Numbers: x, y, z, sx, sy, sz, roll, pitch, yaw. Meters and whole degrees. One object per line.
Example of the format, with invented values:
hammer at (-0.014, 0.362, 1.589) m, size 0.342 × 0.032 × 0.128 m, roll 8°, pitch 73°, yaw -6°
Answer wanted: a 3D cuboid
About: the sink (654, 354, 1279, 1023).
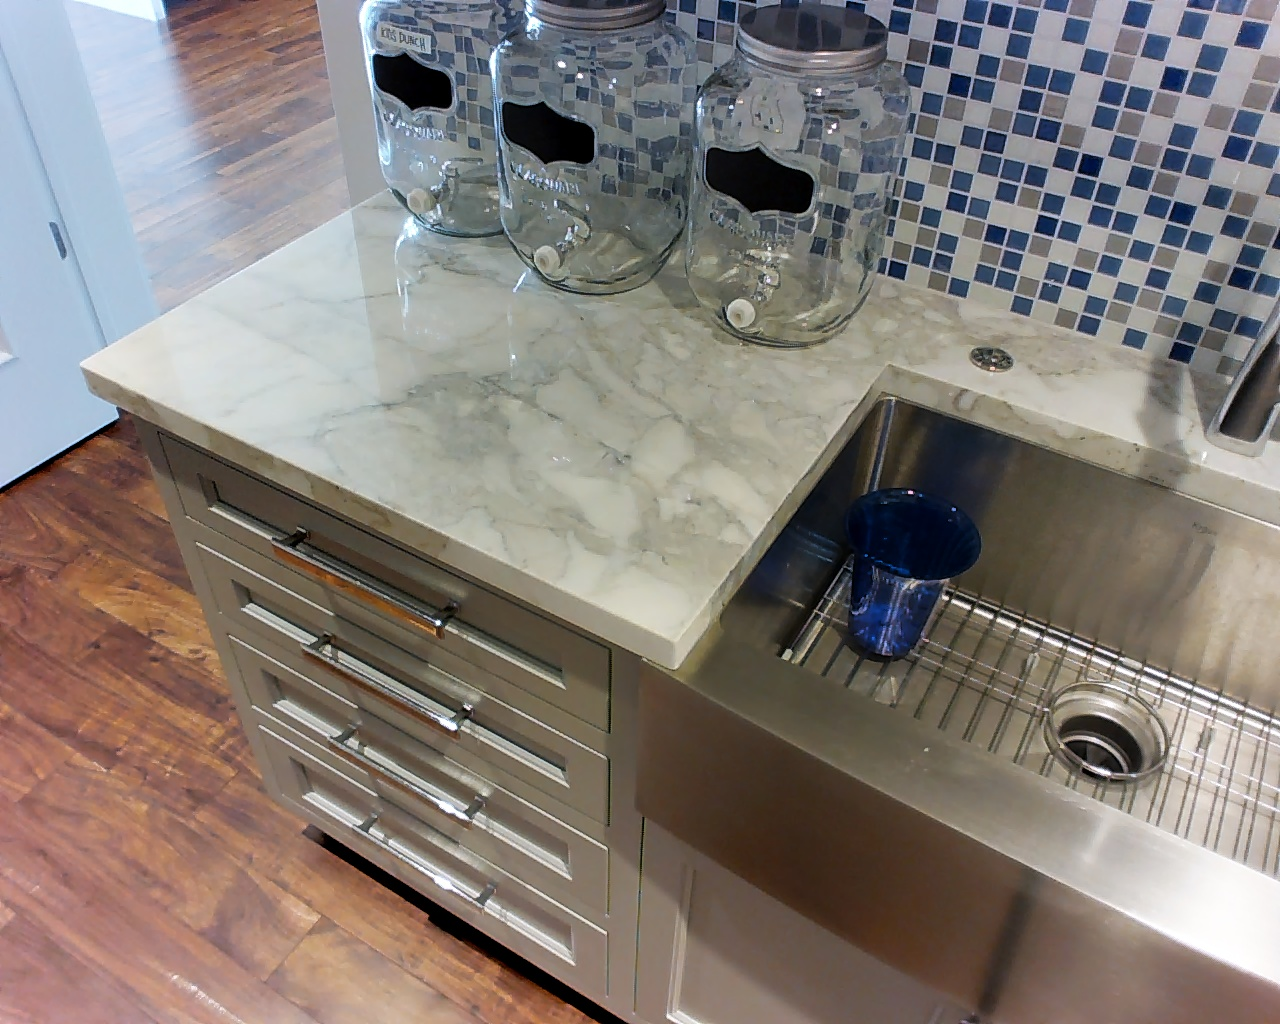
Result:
sink at (0.440, 0.220, 1.000) m, size 0.690 × 0.350 × 0.490 m, roll 23°, pitch 46°, yaw 22°
